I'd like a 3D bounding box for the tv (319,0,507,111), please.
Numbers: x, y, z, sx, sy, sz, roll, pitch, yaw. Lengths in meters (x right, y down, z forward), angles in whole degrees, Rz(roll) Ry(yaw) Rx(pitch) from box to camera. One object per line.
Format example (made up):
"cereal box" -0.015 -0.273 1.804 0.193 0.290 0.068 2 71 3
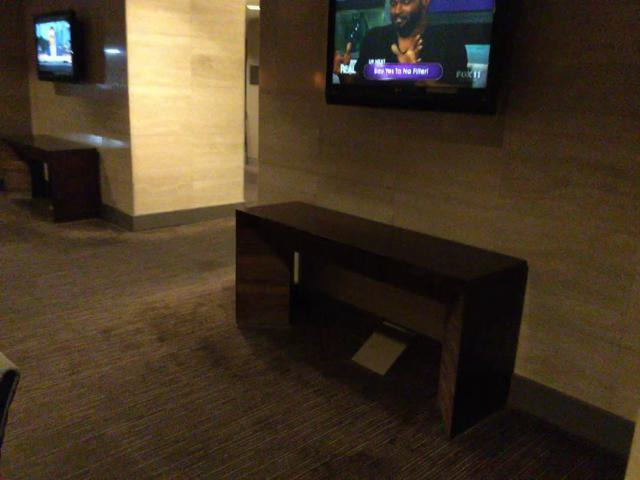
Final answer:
"tv" 0.380 -0.940 2.640 0.130 0.620 0.940 -9 19 -42
